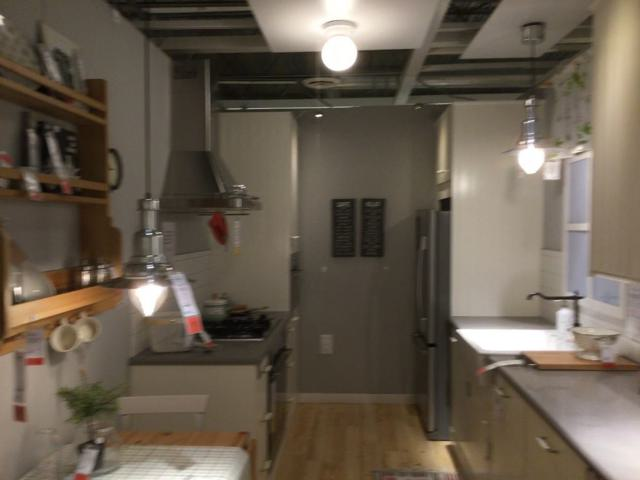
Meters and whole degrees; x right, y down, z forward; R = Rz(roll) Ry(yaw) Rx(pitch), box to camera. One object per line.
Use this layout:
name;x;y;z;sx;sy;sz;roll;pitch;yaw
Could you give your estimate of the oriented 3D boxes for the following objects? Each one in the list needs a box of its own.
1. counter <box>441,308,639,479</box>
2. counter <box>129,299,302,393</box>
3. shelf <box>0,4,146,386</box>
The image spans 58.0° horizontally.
counter;1.060;0.570;2.360;0.760;0.090;2.990;-4;2;5
counter;-0.530;0.590;3.550;0.650;0.210;1.550;-4;2;5
shelf;-0.930;-0.140;2.050;0.200;1.070;0.910;-4;2;5
